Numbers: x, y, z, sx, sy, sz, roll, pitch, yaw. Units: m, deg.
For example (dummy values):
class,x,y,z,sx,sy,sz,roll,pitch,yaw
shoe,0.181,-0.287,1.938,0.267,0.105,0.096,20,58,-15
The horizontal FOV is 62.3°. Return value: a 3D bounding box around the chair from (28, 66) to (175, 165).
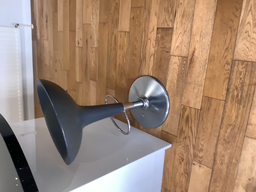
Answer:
class,x,y,z,sx,sy,sz,roll,pitch,yaw
chair,-0.130,0.070,1.270,0.340,0.720,0.360,-42,67,41
